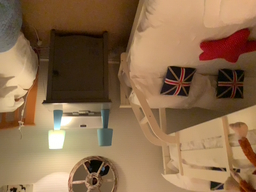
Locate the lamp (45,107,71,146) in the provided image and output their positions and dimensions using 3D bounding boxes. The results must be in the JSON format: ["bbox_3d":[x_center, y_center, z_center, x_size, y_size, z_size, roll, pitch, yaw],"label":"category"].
[{"bbox_3d":[-0.700,0.310,2.140,0.190,0.360,0.220,0,164,-7],"label":"lamp"}]

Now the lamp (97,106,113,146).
[{"bbox_3d":[-0.240,0.310,2.180,0.150,0.380,0.190,0,164,-6],"label":"lamp"}]
